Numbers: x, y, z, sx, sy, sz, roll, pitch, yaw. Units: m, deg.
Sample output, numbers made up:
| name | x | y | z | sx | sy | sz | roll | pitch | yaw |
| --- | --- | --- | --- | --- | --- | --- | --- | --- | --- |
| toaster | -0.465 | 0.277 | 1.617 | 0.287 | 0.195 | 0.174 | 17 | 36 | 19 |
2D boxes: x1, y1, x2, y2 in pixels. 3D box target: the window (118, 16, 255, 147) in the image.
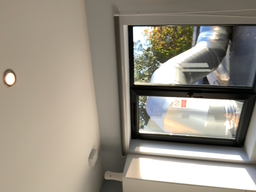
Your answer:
| name | x | y | z | sx | sy | sz | roll | pitch | yaw |
| --- | --- | --- | --- | --- | --- | --- | --- | --- | --- |
| window | 0.670 | -0.100 | 2.330 | 0.190 | 1.460 | 1.440 | -72 | -17 | -58 |
